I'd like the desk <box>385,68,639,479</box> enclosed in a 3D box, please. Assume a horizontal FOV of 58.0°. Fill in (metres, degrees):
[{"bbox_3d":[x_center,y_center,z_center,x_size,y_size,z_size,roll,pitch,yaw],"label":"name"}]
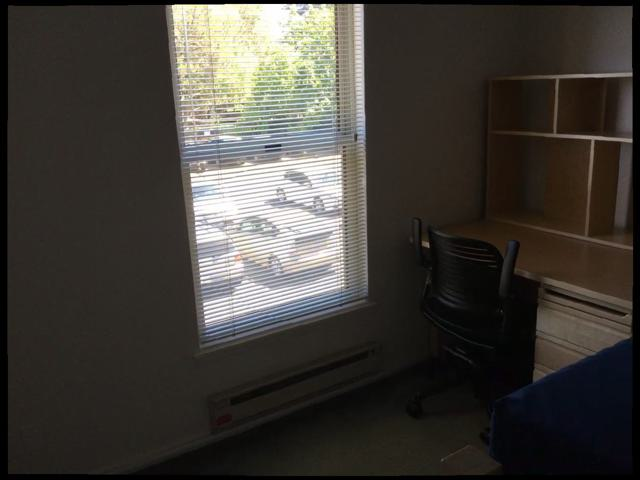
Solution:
[{"bbox_3d":[1.108,0.050,2.620,0.989,1.563,1.289,-13,18,-31],"label":"desk"}]
